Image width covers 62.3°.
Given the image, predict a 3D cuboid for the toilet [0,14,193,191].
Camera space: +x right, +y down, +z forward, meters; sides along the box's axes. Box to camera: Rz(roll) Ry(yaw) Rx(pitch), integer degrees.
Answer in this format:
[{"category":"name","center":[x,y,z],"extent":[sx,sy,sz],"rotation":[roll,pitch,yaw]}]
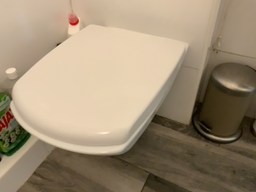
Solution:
[{"category":"toilet","center":[-0.070,0.050,0.740],"extent":[0.370,0.430,0.520],"rotation":[19,46,21]}]

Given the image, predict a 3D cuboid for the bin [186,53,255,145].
[{"category":"bin","center":[0.400,0.010,0.900],"extent":[0.200,0.270,0.210],"rotation":[21,46,22]}]
